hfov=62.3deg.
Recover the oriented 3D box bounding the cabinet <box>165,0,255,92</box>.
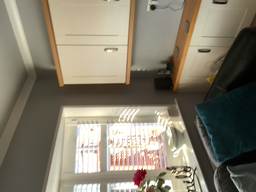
[{"bbox_3d":[0.950,-0.770,2.230,0.340,0.780,1.610,-97,9,-48],"label":"cabinet"}]

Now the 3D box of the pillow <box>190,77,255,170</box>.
[{"bbox_3d":[0.800,0.170,1.490,0.210,0.560,0.530,70,-171,-45],"label":"pillow"}]
